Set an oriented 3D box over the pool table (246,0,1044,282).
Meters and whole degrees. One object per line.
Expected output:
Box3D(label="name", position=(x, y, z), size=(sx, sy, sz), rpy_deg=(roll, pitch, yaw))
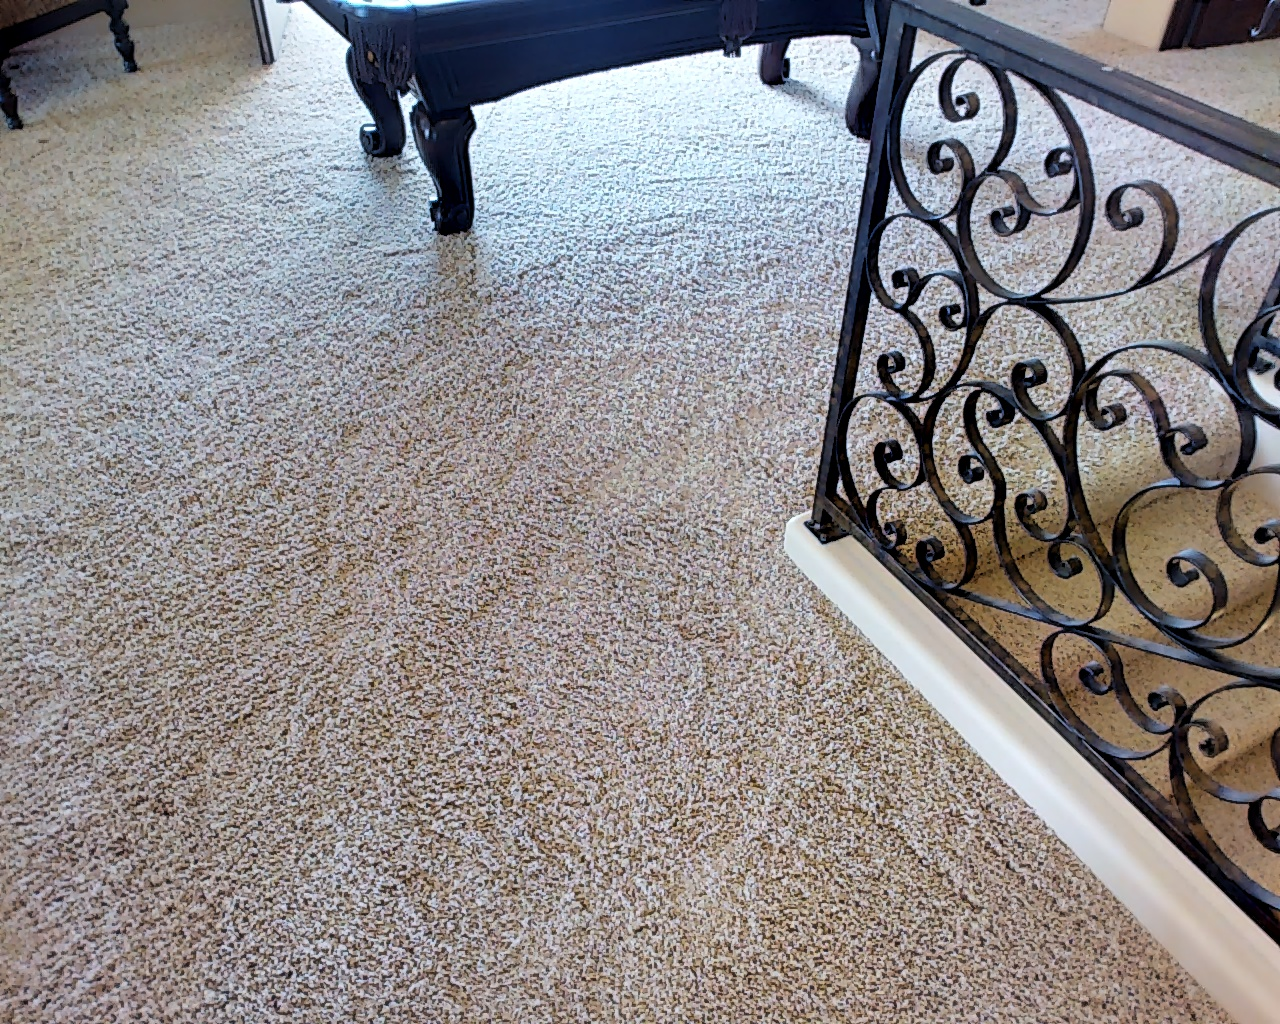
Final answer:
Box3D(label="pool table", position=(0.000, -1.689, 3.680), size=(2.351, 0.740, 1.350), rpy_deg=(-19, 45, -21))
